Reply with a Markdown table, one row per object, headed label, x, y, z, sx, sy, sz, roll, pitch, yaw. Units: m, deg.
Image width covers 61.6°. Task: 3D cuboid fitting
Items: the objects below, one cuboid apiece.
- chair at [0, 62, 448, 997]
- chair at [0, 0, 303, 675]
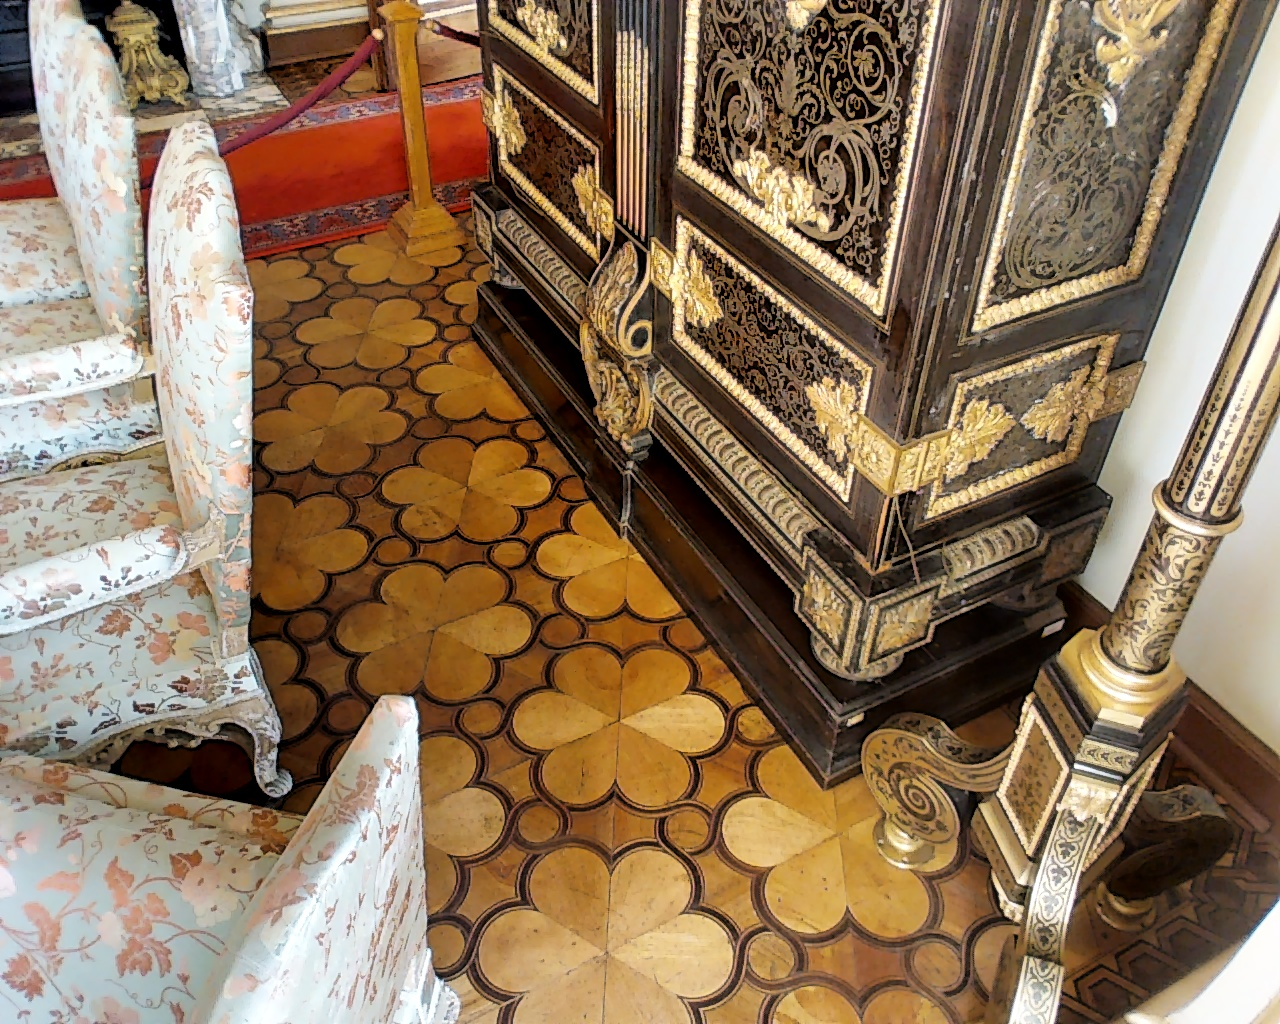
| label | x | y | z | sx | sy | sz | roll | pitch | yaw |
| --- | --- | --- | --- | --- | --- | --- | --- | --- | --- |
| chair | -0.900 | 0.030 | 1.820 | 0.800 | 1.190 | 0.780 | -18 | 45 | -20 |
| chair | -1.260 | -0.370 | 2.280 | 0.690 | 1.150 | 0.670 | -19 | 45 | -21 |
